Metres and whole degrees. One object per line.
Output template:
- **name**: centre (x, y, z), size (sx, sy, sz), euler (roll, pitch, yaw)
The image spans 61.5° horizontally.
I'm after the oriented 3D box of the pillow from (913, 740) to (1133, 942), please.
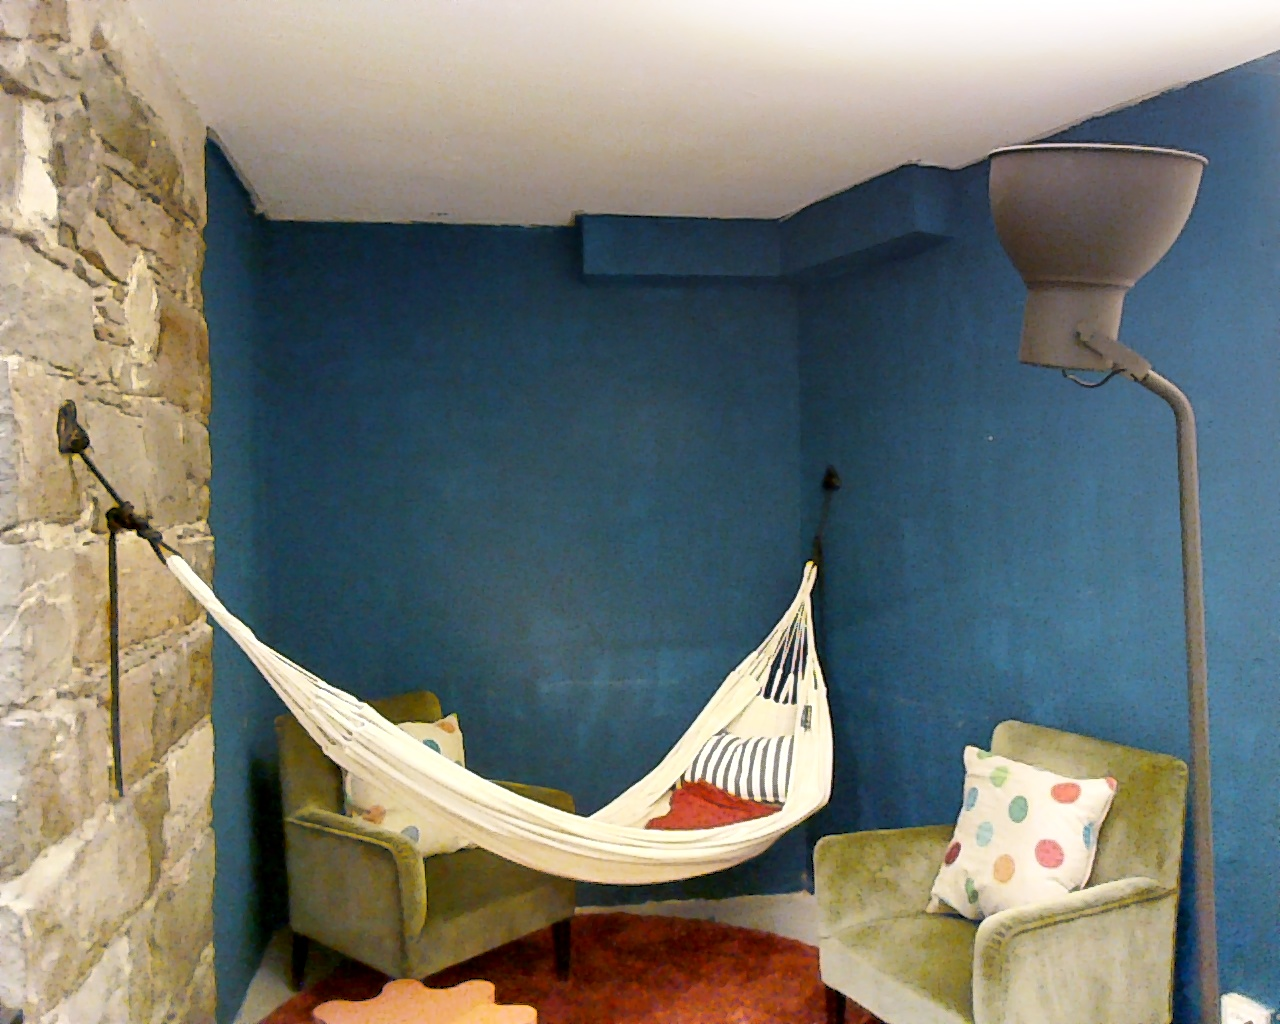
- **pillow**: centre (0.960, 0.820, 2.750), size (0.100, 0.400, 0.490), euler (-28, 7, -20)
